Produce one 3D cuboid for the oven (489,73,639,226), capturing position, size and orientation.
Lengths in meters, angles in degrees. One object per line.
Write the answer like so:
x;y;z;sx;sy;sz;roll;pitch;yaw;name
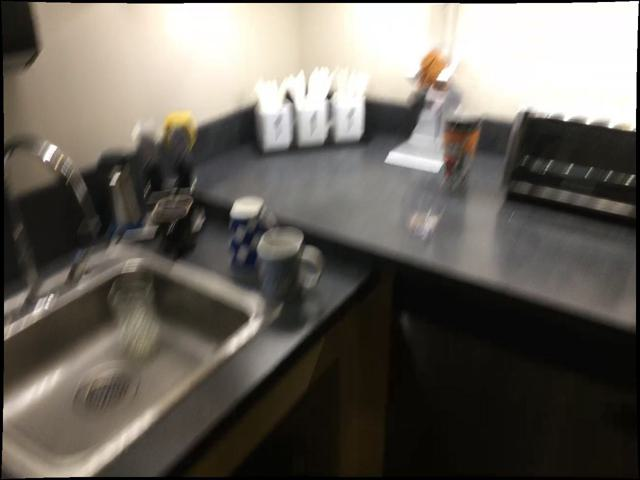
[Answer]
0.619;-0.211;1.280;0.389;0.220;0.260;15;34;28;oven
